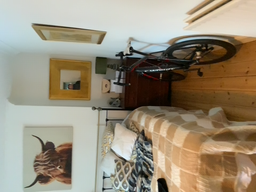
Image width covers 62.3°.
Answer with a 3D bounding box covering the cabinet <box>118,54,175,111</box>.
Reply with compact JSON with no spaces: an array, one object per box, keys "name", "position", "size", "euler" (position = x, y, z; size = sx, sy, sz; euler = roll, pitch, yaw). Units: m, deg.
[{"name":"cabinet","position":[0.280,-0.210,3.580],"size":[0.600,0.780,0.840],"euler":[-170,82,-77]}]
